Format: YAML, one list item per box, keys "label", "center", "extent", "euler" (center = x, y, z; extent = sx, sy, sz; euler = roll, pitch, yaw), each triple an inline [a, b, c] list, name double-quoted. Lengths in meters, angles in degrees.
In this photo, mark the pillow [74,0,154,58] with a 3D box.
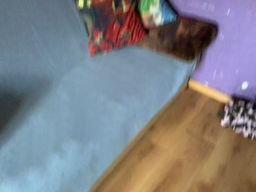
- label: "pillow"
  center: [-0.080, -0.440, 1.240]
  extent: [0.360, 0.220, 0.280]
  euler: [-20, 49, -14]
